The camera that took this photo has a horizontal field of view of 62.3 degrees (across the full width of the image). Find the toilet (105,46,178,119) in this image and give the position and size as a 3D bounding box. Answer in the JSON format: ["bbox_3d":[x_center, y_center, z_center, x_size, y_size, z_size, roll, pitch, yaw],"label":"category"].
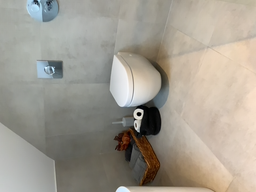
[{"bbox_3d":[0.080,-0.130,1.840,0.480,0.400,0.420,-121,36,-49],"label":"toilet"}]

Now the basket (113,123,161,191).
[{"bbox_3d":[0.070,0.640,2.290,0.550,0.260,0.390,-118,33,-46],"label":"basket"}]
